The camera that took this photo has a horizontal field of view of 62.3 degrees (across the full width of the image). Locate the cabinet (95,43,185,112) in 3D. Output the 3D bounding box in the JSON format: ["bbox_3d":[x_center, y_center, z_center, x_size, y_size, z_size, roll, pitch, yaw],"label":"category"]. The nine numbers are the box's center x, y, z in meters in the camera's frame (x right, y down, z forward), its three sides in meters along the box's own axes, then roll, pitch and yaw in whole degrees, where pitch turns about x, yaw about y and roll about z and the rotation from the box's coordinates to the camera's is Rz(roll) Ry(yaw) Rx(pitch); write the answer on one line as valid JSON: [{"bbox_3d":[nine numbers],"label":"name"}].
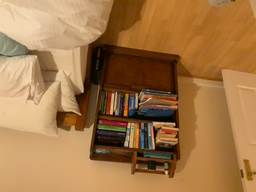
[{"bbox_3d":[0.100,-0.160,1.920,0.720,0.450,0.270,8,152,-8],"label":"cabinet"}]

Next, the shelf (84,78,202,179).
[{"bbox_3d":[0.090,0.270,1.620,0.750,0.590,0.390,8,151,-8],"label":"shelf"}]
